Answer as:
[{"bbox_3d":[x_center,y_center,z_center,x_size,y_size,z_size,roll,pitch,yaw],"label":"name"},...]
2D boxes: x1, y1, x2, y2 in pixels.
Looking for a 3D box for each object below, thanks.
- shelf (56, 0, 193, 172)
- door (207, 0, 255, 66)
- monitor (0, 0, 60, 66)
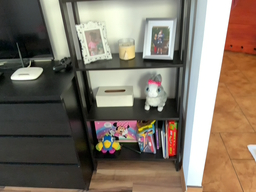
[{"bbox_3d":[0.010,-0.180,1.300,0.630,1.530,0.300,-1,31,5],"label":"shelf"},{"bbox_3d":[1.670,-1.710,2.730,0.910,2.670,0.130,20,38,34],"label":"door"},{"bbox_3d":[-0.920,-0.440,1.260,0.930,0.550,0.050,-1,30,5],"label":"monitor"}]
